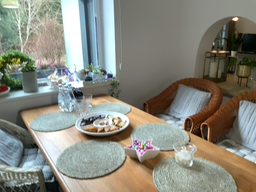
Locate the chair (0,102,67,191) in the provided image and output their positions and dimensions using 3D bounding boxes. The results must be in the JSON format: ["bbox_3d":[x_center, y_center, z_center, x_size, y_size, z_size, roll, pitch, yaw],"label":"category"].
[{"bbox_3d":[-0.870,0.570,1.630,0.680,0.840,0.620,-4,18,-12],"label":"chair"}]

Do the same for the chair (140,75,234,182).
[{"bbox_3d":[0.640,0.290,2.450,0.700,0.880,0.710,-14,22,-37],"label":"chair"}]

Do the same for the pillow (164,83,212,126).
[{"bbox_3d":[0.680,0.090,2.430,0.180,0.360,0.380,31,-4,-42],"label":"pillow"}]
